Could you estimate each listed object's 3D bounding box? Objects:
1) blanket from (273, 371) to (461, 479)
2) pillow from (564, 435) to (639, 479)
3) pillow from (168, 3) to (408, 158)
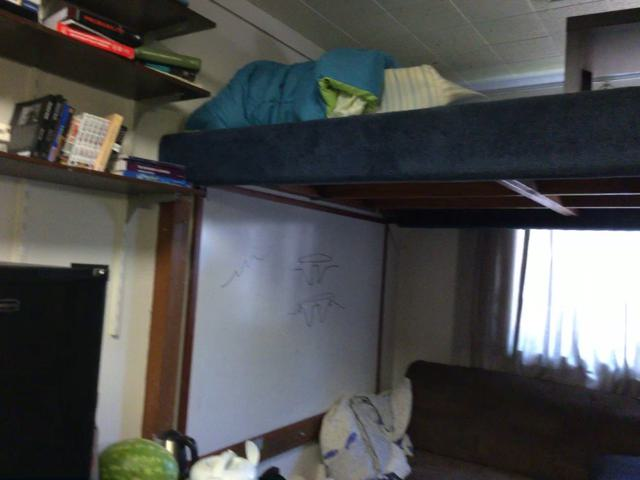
[{"bbox_3d":[0.320,1.120,3.260,0.560,0.580,1.180,1,-5,32],"label":"blanket"},{"bbox_3d":[1.470,1.140,2.720,0.530,0.260,0.450,1,-5,32],"label":"pillow"},{"bbox_3d":[-0.130,-0.570,2.250,0.820,0.360,0.420,1,-5,32],"label":"pillow"}]
